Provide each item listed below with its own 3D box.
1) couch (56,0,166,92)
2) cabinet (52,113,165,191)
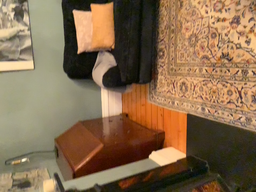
[{"bbox_3d":[-0.250,-1.090,2.260,1.080,0.800,1.920,16,109,60],"label":"couch"},{"bbox_3d":[-0.270,0.600,2.500,0.980,1.000,0.480,16,109,60],"label":"cabinet"}]
